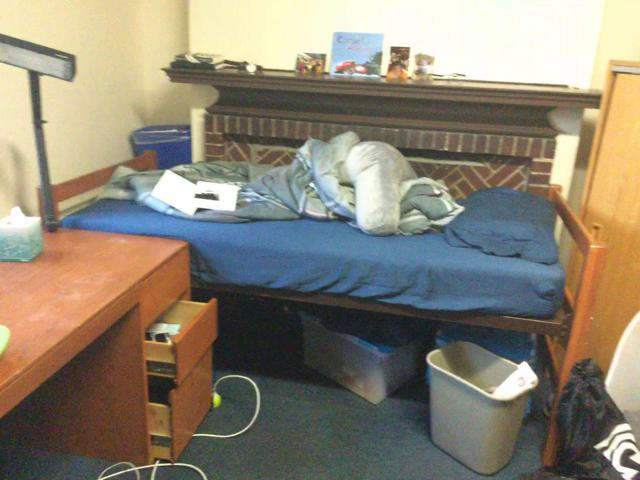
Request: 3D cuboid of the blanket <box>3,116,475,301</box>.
[{"bbox_3d":[-0.280,-0.220,2.570,1.800,0.480,0.860,5,19,11],"label":"blanket"}]
